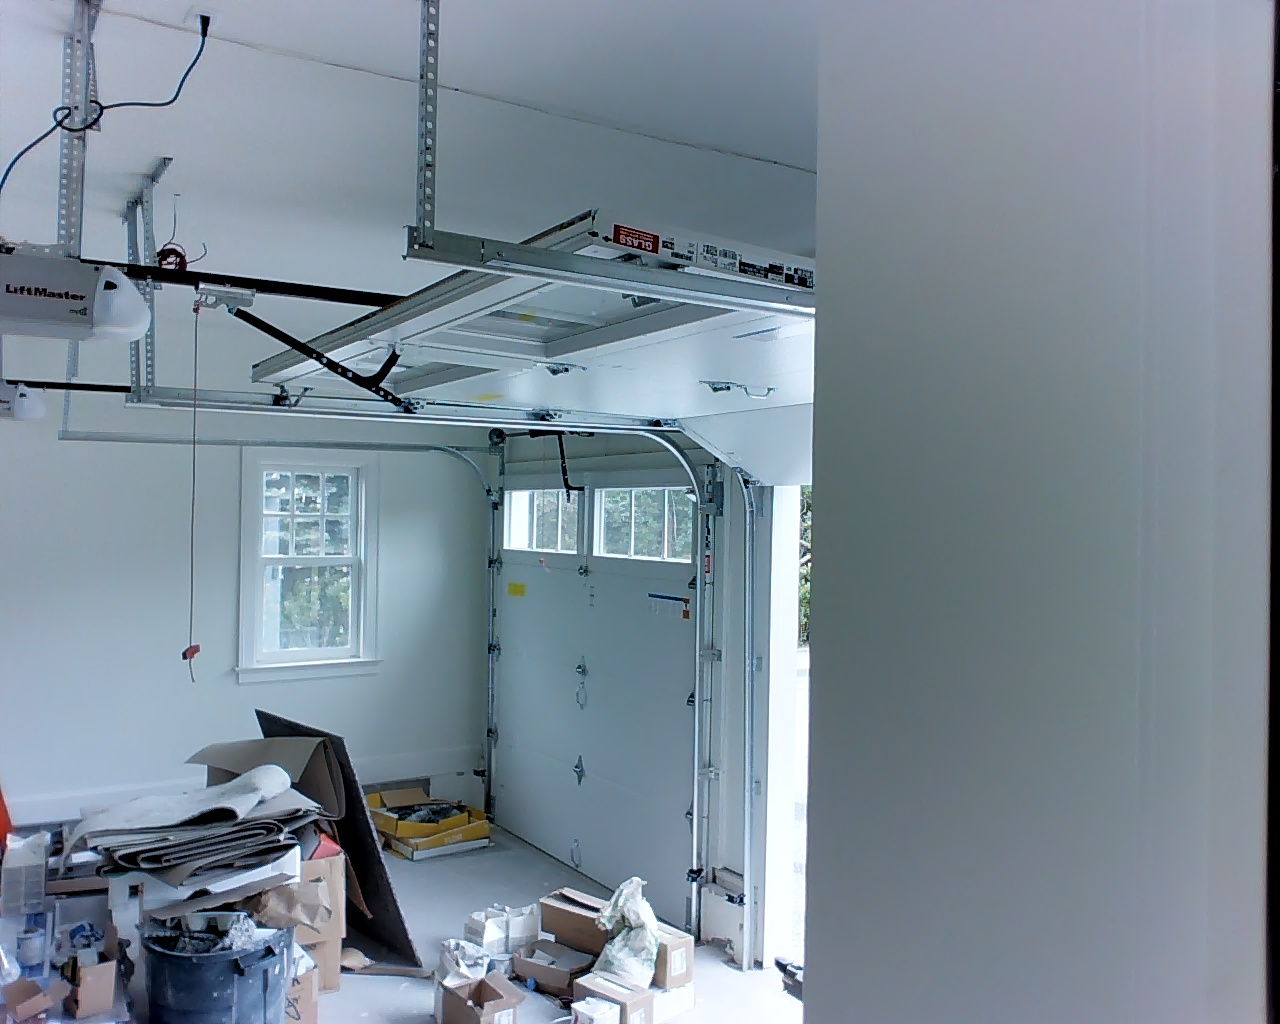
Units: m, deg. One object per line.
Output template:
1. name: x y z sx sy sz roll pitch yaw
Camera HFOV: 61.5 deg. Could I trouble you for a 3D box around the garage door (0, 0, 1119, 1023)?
1. garage door: -0.670 -0.650 3.380 3.460 0.990 2.710 -49 25 -23
